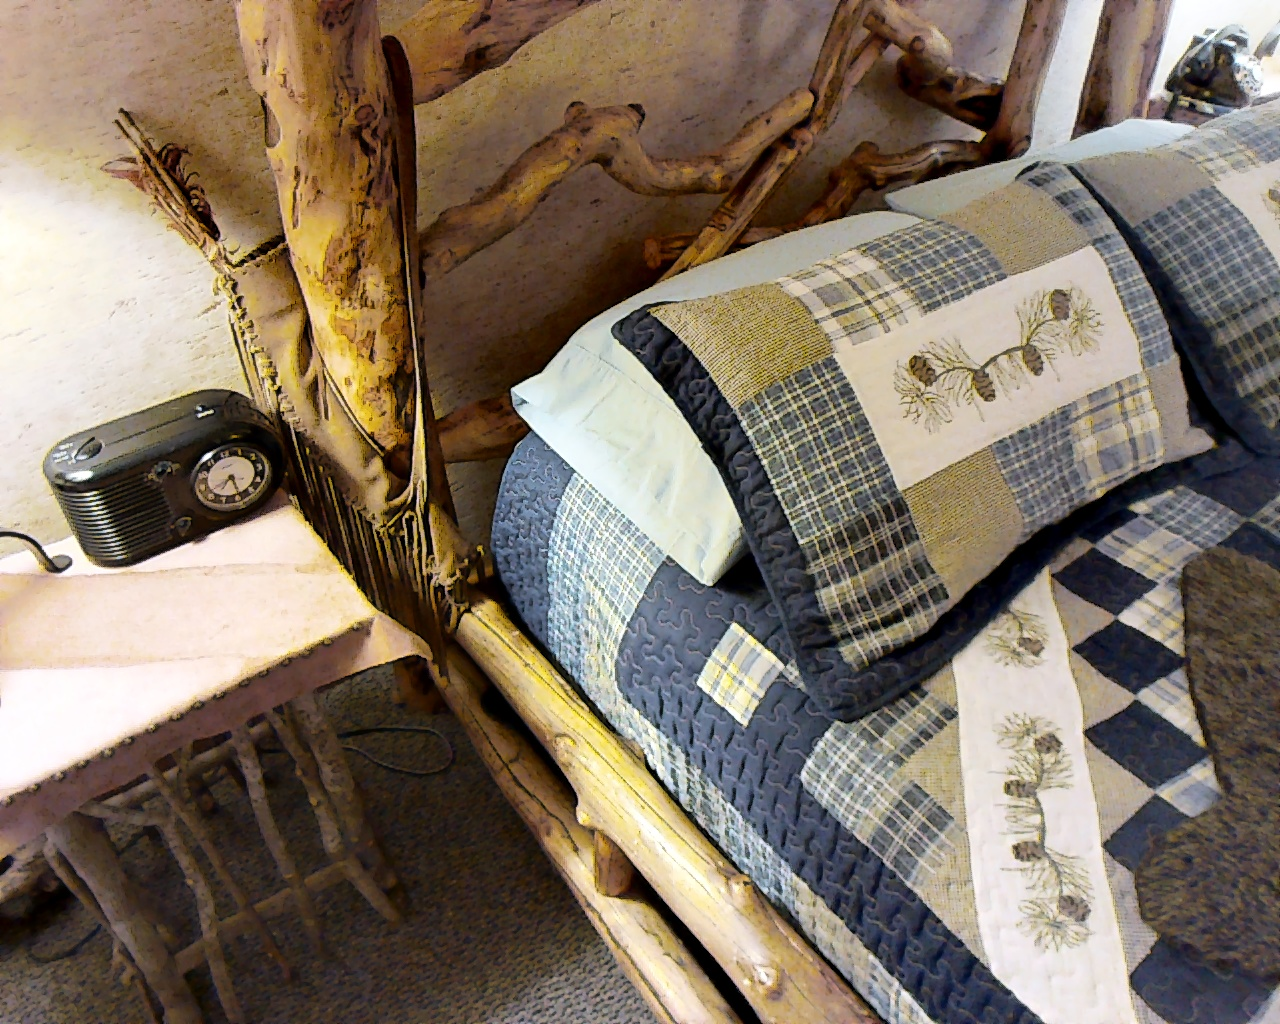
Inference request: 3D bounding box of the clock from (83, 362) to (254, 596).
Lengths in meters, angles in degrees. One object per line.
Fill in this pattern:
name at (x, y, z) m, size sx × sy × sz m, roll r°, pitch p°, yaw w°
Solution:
clock at (-0.580, -0.040, 1.340) m, size 0.130 × 0.250 × 0.100 m, roll -22°, pitch 46°, yaw -31°
